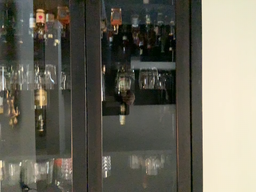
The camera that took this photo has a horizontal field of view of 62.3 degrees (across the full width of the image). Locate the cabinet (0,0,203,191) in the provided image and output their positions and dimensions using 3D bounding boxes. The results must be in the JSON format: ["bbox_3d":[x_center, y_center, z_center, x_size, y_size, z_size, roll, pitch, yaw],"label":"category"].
[{"bbox_3d":[-0.120,-0.420,0.970,0.770,1.990,0.410,0,-179,-7],"label":"cabinet"}]
